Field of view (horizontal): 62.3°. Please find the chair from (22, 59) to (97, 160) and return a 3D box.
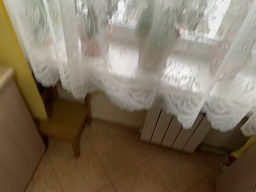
[{"bbox_3d":[-0.410,0.110,1.440,0.250,0.530,0.410,15,51,5],"label":"chair"}]
